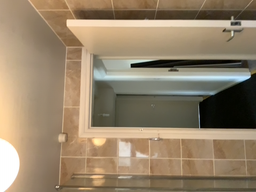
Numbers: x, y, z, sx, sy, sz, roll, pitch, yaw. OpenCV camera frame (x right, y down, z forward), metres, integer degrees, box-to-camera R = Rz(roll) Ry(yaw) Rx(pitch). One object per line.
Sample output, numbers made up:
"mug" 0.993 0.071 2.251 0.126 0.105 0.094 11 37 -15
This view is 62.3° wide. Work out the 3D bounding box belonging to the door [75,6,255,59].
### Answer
"door" 0.710 -0.410 1.530 0.780 1.990 0.110 75 -165 -88
